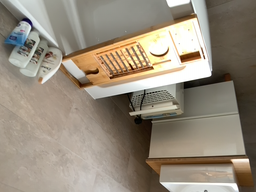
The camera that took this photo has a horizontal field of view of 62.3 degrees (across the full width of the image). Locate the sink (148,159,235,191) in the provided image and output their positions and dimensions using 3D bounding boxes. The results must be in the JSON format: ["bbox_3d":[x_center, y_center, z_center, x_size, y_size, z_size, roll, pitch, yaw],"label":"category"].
[{"bbox_3d":[0.450,0.590,1.450,0.470,0.130,0.460,-10,139,27],"label":"sink"}]
